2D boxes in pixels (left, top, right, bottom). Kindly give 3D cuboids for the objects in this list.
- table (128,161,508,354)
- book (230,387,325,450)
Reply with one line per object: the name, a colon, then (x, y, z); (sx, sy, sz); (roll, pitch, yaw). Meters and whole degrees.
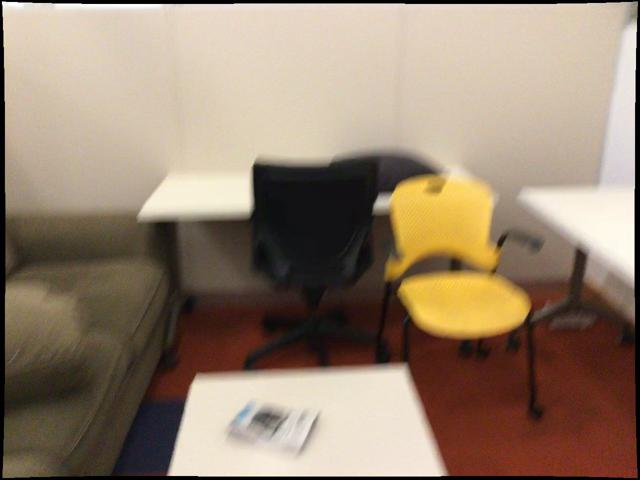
table: (-0.020, 0.050, 2.790); (1.558, 0.721, 0.620); (0, 22, -5)
book: (-0.110, 0.470, 1.540); (0.210, 0.030, 0.150); (9, 23, 17)
